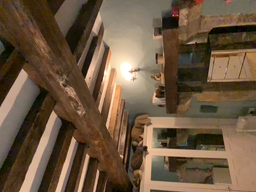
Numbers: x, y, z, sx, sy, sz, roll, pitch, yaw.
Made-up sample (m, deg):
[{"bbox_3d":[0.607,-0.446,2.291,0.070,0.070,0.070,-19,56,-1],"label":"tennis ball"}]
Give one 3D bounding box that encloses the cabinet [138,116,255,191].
[{"bbox_3d":[1.410,1.270,3.790,0.710,2.270,1.730,77,-163,-47],"label":"cabinet"}]
